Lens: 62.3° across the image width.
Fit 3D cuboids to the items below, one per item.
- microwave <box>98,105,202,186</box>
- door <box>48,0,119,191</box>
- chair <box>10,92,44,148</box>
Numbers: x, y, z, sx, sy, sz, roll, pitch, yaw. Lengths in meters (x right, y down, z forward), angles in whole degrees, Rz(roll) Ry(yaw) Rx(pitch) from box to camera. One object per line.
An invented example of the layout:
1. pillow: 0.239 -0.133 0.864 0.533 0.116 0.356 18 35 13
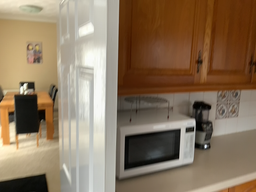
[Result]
1. microwave: 0.110 0.260 1.340 0.500 0.310 0.420 -2 10 -23
2. door: -0.260 0.400 1.010 0.060 1.930 0.820 -3 10 -28
3. chair: -1.840 0.410 3.920 0.440 0.910 0.520 -1 9 -16
